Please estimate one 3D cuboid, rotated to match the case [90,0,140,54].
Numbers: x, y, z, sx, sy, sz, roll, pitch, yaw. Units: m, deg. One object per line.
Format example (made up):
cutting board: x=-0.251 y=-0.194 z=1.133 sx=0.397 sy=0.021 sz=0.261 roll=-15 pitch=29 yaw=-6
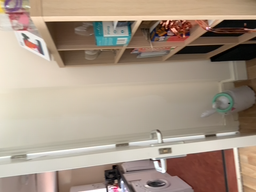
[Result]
case: x=-0.080 y=-0.350 z=1.040 sx=0.320 sy=0.190 sz=0.200 roll=154 pitch=112 yaw=-78
